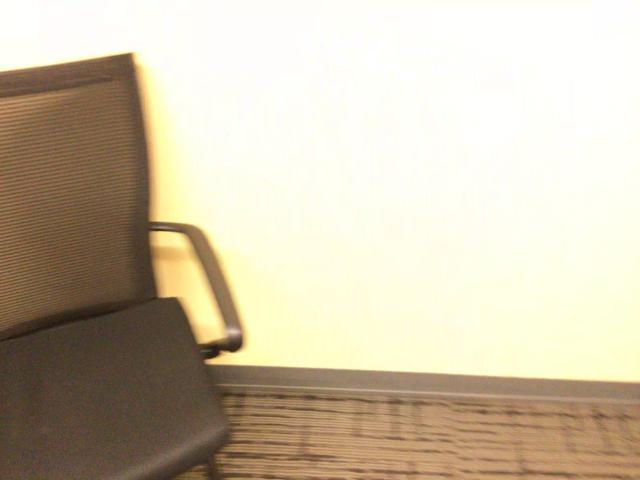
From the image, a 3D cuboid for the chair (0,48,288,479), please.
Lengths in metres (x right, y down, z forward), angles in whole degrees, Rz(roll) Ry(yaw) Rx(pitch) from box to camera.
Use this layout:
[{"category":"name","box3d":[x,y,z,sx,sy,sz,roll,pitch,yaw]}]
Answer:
[{"category":"chair","box3d":[-0.430,0.230,1.020,0.600,0.930,0.540,-12,35,-18]}]
